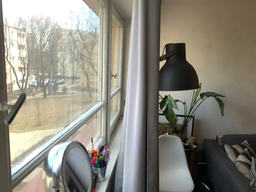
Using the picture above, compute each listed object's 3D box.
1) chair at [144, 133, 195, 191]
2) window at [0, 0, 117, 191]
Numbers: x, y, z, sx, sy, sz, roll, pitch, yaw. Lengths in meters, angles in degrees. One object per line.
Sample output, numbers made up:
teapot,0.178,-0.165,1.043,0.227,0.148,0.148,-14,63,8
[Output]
chair,0.430,0.880,2.380,0.450,0.780,0.500,3,9,4
window,-0.420,-0.080,1.200,0.270,1.260,3.160,3,9,4
